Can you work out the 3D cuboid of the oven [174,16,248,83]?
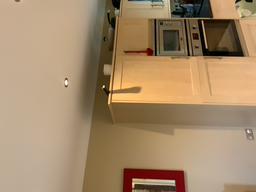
[{"bbox_3d":[1.030,-0.600,2.820,0.600,0.690,0.630,88,-176,-63],"label":"oven"}]
